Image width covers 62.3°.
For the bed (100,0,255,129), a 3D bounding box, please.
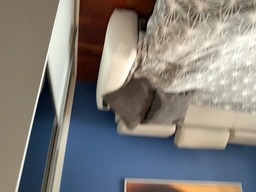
[{"bbox_3d":[0.870,-0.270,2.000,1.940,0.460,1.930,8,153,-14],"label":"bed"}]
